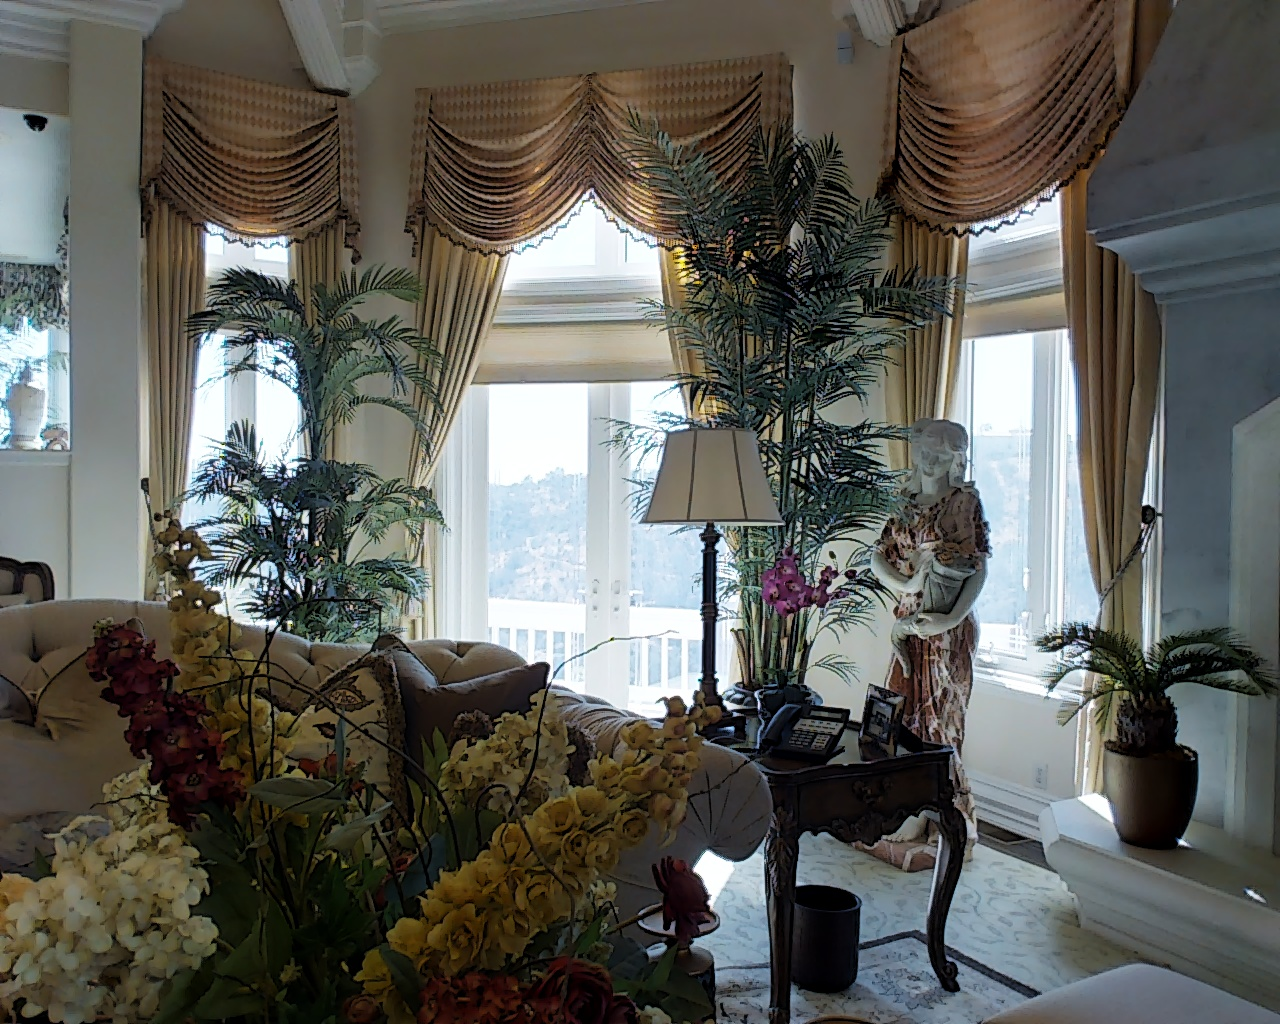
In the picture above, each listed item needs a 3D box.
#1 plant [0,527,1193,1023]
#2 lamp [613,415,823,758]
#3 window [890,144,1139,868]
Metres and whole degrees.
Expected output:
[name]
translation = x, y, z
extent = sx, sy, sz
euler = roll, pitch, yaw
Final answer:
[plant]
translation = -0.190, 0.440, 0.980
extent = 0.850, 0.820, 0.900
euler = 0, 1, -29
[lamp]
translation = 0.250, 0.220, 3.540
extent = 0.500, 1.030, 0.470
euler = 0, 1, -32
[window]
translation = 1.640, -0.030, 4.870
extent = 0.140, 2.900, 1.250
euler = 0, 1, -28
